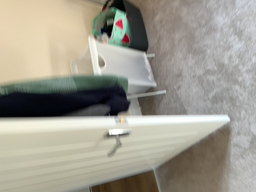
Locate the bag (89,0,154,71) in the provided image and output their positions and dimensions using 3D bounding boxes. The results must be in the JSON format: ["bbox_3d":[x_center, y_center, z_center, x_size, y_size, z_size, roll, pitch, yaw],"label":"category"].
[{"bbox_3d":[-0.080,-0.620,1.960,0.380,0.320,0.630,-29,66,43],"label":"bag"}]
